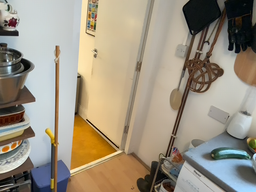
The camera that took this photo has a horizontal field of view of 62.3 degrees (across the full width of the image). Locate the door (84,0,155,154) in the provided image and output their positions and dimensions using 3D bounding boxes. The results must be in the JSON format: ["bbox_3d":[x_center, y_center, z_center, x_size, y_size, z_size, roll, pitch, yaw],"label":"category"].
[{"bbox_3d":[-0.160,-0.420,2.310,0.040,2.050,0.820,-13,32,-42],"label":"door"}]

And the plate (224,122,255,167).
[{"bbox_3d":[0.790,0.300,1.250,0.320,0.090,0.290,-12,32,-42],"label":"plate"}]
